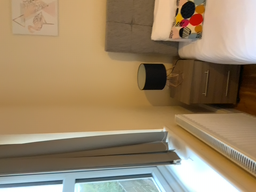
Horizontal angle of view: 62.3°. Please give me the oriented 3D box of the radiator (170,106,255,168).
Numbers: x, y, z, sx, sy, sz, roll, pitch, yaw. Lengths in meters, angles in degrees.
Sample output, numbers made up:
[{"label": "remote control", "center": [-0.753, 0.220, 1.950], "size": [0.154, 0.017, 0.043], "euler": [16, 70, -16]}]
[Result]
[{"label": "radiator", "center": [0.790, 0.220, 1.130], "size": [1.300, 0.650, 0.080], "euler": [-145, 56, -75]}]

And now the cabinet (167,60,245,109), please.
[{"label": "cabinet", "center": [0.750, -0.140, 2.150], "size": [0.480, 0.530, 0.430], "euler": [-141, 53, -74]}]
